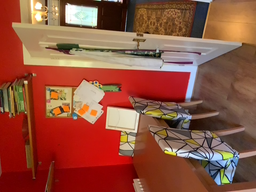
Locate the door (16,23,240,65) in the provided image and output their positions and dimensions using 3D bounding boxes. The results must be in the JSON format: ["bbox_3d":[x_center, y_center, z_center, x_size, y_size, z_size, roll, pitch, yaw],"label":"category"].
[{"bbox_3d":[0.040,-0.460,2.090,0.680,1.920,0.050,158,112,-75],"label":"door"}]

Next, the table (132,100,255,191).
[{"bbox_3d":[0.640,0.780,2.200,1.550,0.750,1.000,-125,38,-66],"label":"table"}]

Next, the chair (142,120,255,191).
[{"bbox_3d":[0.650,0.530,1.770,0.420,0.930,0.510,-131,44,-69],"label":"chair"}]
